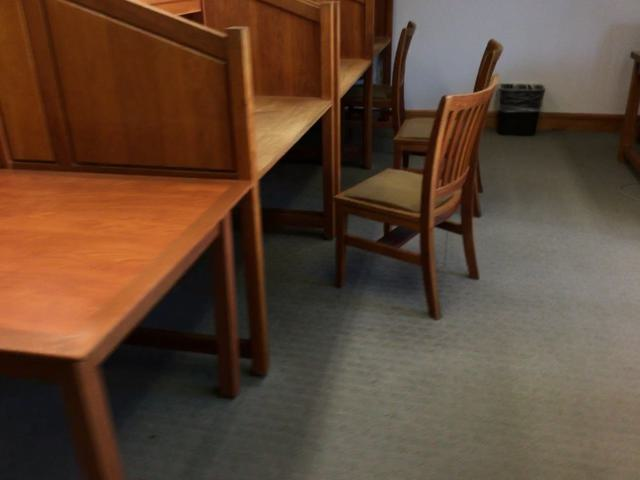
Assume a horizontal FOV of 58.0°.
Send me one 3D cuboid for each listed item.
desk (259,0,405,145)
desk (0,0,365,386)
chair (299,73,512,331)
[{"bbox_3d":[0.150,-1.540,4.450,0.850,1.340,1.070,2,25,15],"label":"desk"},{"bbox_3d":[-0.470,-0.450,2.430,1.030,1.470,1.330,2,25,15],"label":"desk"},{"bbox_3d":[0.390,-0.210,2.480,0.660,0.880,0.610,9,28,29],"label":"chair"}]
